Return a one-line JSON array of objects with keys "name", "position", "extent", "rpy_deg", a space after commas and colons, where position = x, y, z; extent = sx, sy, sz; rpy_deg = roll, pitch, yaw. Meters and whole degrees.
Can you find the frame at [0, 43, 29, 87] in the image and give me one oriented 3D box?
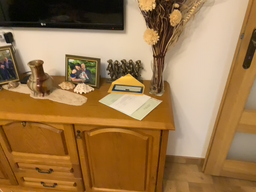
[{"name": "frame", "position": [-0.830, -0.200, 1.370], "extent": [0.230, 0.210, 0.190], "rpy_deg": [0, 42, 7]}]
